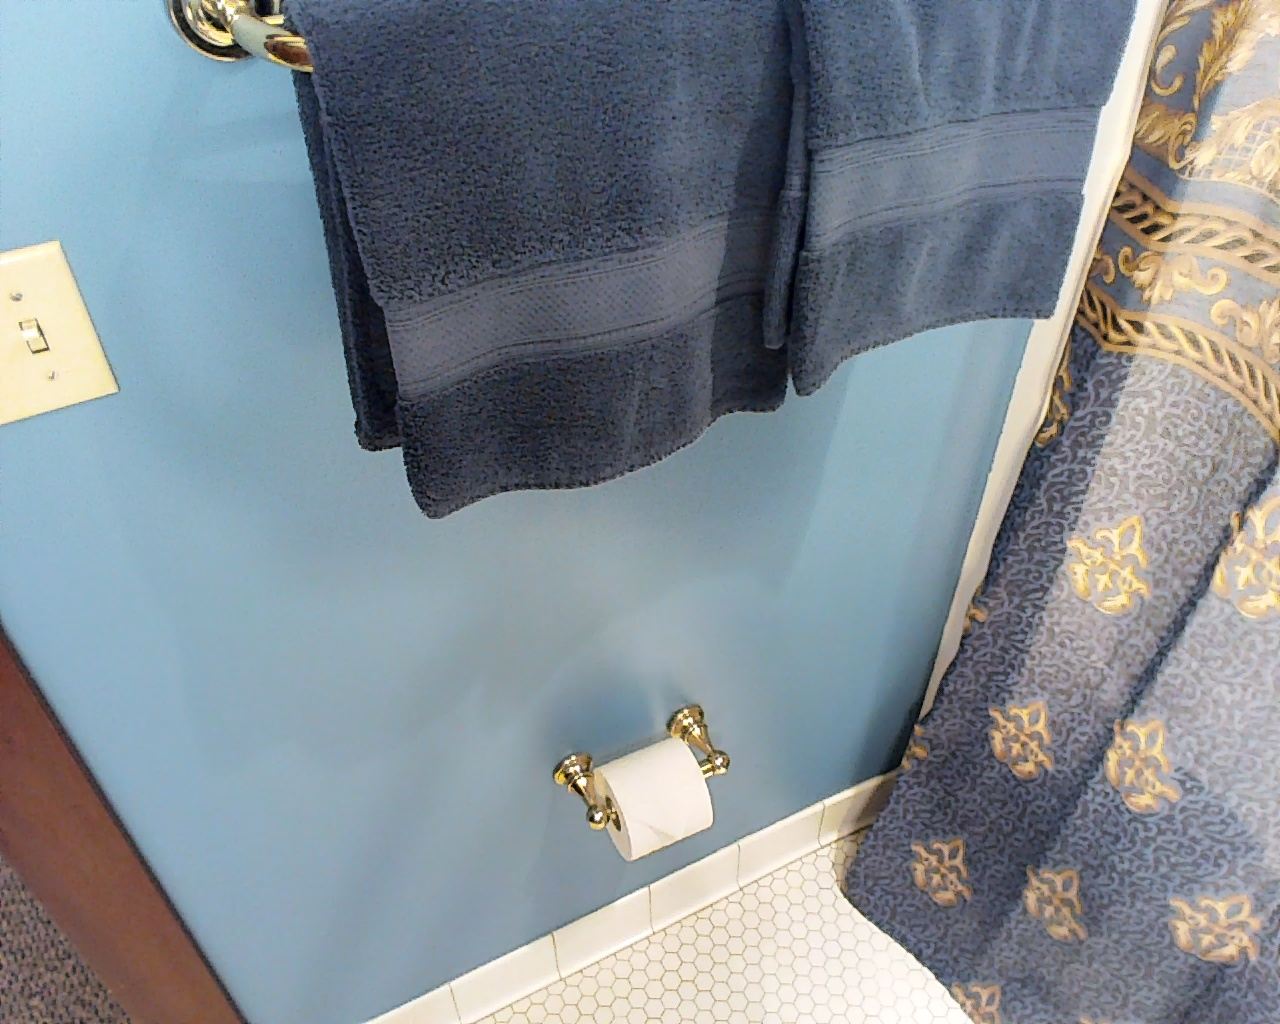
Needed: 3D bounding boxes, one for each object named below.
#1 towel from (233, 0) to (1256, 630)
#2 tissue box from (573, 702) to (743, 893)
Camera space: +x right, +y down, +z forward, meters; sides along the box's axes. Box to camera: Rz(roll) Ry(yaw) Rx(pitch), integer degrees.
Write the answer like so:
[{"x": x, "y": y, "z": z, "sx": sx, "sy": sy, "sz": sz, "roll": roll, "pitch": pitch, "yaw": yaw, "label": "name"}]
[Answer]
[{"x": 0.080, "y": -0.220, "z": 0.740, "sx": 0.590, "sy": 0.360, "sz": 0.230, "roll": -20, "pitch": 47, "yaw": -20, "label": "towel"}, {"x": 0.020, "y": 0.340, "z": 1.290, "sx": 0.160, "sy": 0.130, "sz": 0.120, "roll": -19, "pitch": 46, "yaw": -19, "label": "tissue box"}]
